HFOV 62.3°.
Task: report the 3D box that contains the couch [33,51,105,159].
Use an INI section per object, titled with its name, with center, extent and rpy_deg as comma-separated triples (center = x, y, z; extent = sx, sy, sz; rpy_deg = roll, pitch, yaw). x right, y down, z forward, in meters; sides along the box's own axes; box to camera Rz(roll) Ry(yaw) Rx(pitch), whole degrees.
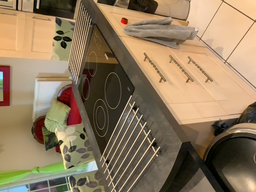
[couch]
center = -1.120, 0.200, 3.720
extent = 0.710, 0.820, 1.770
rpy_deg = 58, 138, 40

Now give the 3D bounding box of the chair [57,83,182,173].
[chair]
center = -0.100, 0.250, 1.940
extent = 0.460, 0.920, 0.570
rpy_deg = 60, 139, 38
